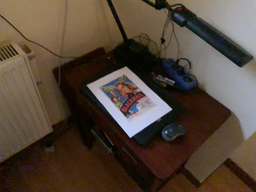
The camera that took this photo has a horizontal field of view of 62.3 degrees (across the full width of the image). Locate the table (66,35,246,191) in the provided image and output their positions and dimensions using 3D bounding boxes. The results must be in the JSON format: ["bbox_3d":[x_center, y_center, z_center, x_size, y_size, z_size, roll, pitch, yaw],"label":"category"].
[{"bbox_3d":[0.070,0.190,1.160,0.450,0.690,0.640,-30,59,-28],"label":"table"}]
